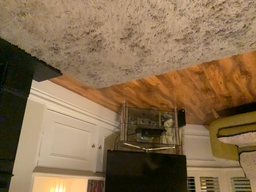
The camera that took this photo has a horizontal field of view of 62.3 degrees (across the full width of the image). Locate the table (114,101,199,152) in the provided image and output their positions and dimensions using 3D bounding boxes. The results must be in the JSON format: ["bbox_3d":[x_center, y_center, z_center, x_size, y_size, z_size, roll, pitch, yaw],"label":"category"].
[{"bbox_3d":[0.370,0.450,2.930,1.020,0.520,0.470,7,157,-13],"label":"table"}]

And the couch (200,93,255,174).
[{"bbox_3d":[1.740,0.510,2.620,1.190,0.810,1.030,-19,150,40],"label":"couch"}]

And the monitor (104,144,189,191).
[{"bbox_3d":[0.240,0.970,2.620,1.070,0.690,0.050,6,156,-15],"label":"monitor"}]
